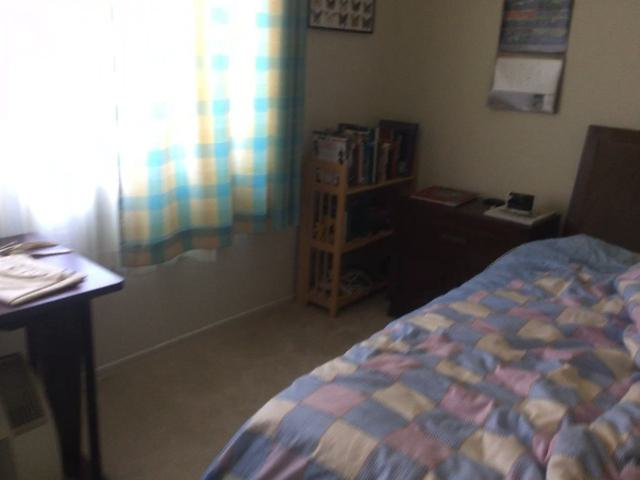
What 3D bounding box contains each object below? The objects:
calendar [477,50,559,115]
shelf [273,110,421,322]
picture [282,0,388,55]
[{"bbox_3d":[0.940,-0.760,2.770,0.340,0.280,0.060,17,22,40],"label":"calendar"},{"bbox_3d":[0.150,-0.170,3.120,0.330,0.990,0.760,17,22,40],"label":"shelf"},{"bbox_3d":[0.090,-1.130,2.900,0.120,0.360,0.650,17,22,40],"label":"picture"}]
